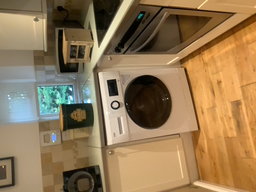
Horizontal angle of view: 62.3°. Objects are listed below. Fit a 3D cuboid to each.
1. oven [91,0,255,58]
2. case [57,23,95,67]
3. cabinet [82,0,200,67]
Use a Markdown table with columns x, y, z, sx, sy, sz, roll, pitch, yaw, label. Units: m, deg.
| x | y | z | sx | sy | sz | roll | pitch | yaw | label |
| --- | --- | --- | --- | --- | --- | --- | --- | --- | --- |
| 0.270 | -0.650 | 1.410 | 0.590 | 0.900 | 0.610 | 152 | 112 | -67 | oven |
| -0.420 | -0.390 | 1.670 | 0.240 | 0.240 | 0.250 | 151 | 113 | -66 | case |
| 0.110 | -0.580 | 1.810 | 0.290 | 0.890 | 0.580 | 152 | 112 | -67 | cabinet |
